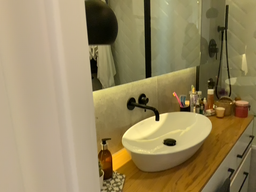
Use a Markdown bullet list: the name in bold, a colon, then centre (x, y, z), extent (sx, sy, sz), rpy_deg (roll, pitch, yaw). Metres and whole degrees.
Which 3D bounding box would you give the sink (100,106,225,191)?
- **sink**: centre (0.220, 0.210, 1.120), extent (0.360, 0.110, 0.650), rpy_deg (9, 18, 39)
